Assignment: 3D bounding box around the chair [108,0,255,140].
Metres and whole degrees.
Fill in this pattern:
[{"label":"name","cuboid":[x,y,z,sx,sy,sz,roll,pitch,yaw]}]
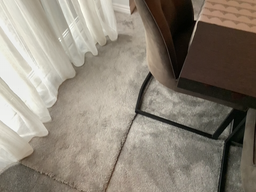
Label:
[{"label":"chair","cuboid":[0.300,-0.290,1.070,0.580,0.940,0.490,22,59,16]}]
